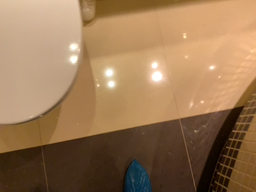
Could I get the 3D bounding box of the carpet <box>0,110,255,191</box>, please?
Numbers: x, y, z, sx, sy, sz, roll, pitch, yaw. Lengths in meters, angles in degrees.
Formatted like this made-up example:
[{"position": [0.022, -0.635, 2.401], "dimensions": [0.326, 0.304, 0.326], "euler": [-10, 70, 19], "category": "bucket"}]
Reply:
[{"position": [-0.470, 0.520, 0.800], "dimensions": [2.050, 0.070, 0.600], "euler": [-9, 83, -5], "category": "carpet"}]
